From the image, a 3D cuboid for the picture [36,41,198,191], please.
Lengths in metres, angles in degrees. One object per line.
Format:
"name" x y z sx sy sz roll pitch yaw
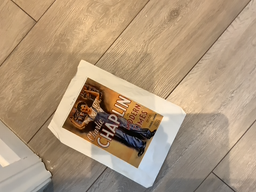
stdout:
"picture" -0.030 0.050 0.520 0.310 0.010 0.250 30 89 4
